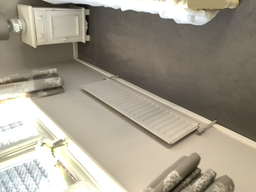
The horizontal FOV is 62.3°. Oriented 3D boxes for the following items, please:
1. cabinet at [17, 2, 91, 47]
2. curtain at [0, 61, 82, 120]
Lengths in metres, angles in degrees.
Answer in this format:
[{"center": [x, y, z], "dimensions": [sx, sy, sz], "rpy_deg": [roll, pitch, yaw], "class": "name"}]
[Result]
[{"center": [-0.860, -0.870, 2.540], "dimensions": [0.370, 0.720, 0.410], "rpy_deg": [29, 124, 39], "class": "cabinet"}, {"center": [-1.210, -0.010, 1.710], "dimensions": [0.670, 1.510, 0.220], "rpy_deg": [23, 120, 42], "class": "curtain"}]
